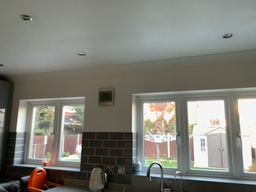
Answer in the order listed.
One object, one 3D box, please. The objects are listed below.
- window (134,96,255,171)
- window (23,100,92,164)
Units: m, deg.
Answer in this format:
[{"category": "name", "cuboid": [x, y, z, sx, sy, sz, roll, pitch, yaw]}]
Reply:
[{"category": "window", "cuboid": [0.870, 0.430, 2.530, 1.640, 0.800, 0.120, -3, -10, 19]}, {"category": "window", "cuboid": [-1.100, 0.550, 3.310, 1.060, 0.900, 0.240, -3, -11, 21]}]
